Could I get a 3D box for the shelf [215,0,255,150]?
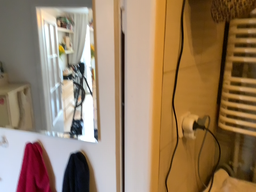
[{"bbox_3d":[0.690,-0.100,1.010,0.410,0.730,0.150,10,17,33],"label":"shelf"}]
